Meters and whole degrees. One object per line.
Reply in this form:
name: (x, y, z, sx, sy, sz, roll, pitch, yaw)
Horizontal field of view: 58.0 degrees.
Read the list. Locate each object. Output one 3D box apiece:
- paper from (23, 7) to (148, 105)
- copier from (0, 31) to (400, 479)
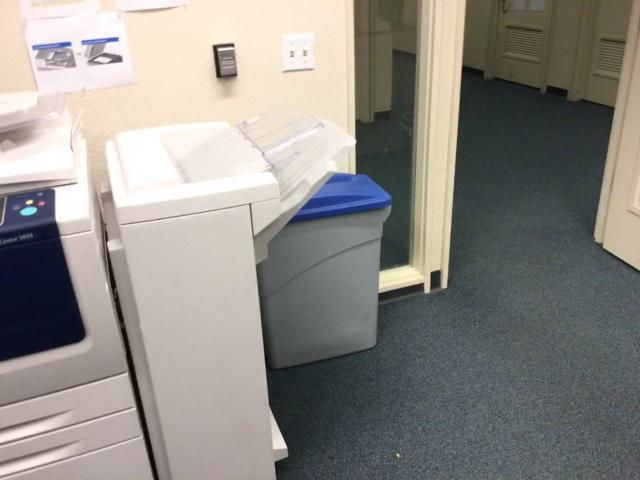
paper: (-0.690, -0.550, 1.720, 0.290, 0.230, 0.050, -17, 28, -19)
copier: (-0.550, 0.170, 1.520, 1.330, 1.130, 0.620, -17, 28, -19)
